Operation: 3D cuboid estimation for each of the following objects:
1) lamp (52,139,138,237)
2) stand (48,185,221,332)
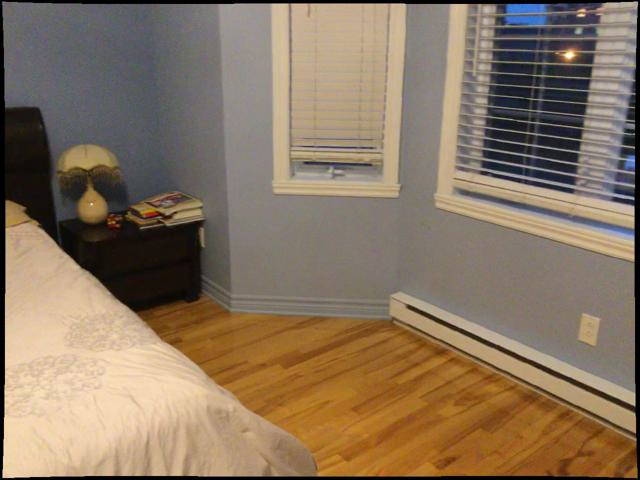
[{"bbox_3d":[-1.169,-0.280,3.010,0.280,0.410,0.320,-16,26,-35],"label":"lamp"},{"bbox_3d":[-0.989,0.060,3.130,0.690,0.510,0.520,-16,26,-35],"label":"stand"}]
